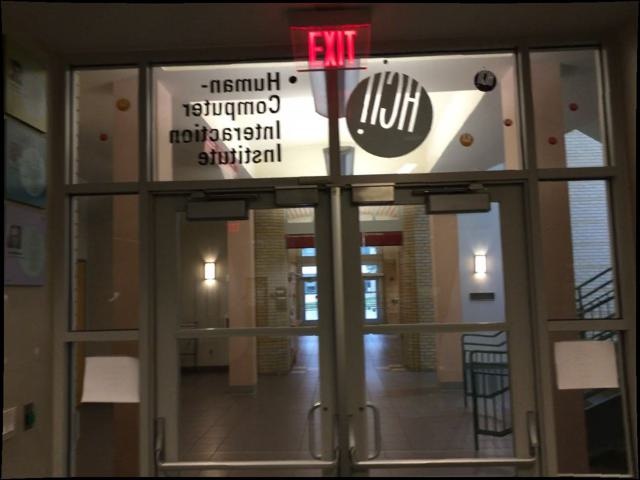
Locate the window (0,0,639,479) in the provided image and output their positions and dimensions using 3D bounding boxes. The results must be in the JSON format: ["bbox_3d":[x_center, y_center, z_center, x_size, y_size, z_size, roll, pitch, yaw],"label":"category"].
[{"bbox_3d":[0.060,0.371,2.620,2.674,2.837,0.670,-3,2,5],"label":"window"}]

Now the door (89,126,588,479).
[{"bbox_3d":[0.090,0.702,2.560,1.955,2.195,0.390,-3,2,5],"label":"door"}]
